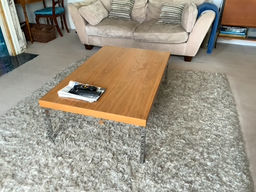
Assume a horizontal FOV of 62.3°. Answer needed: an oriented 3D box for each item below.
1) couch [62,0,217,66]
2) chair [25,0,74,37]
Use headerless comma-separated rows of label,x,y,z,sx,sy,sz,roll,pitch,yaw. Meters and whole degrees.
couch,0.220,-1.200,3.390,2.100,0.720,1.150,12,34,17
chair,-1.470,-1.610,4.020,0.610,0.780,0.500,9,34,13
